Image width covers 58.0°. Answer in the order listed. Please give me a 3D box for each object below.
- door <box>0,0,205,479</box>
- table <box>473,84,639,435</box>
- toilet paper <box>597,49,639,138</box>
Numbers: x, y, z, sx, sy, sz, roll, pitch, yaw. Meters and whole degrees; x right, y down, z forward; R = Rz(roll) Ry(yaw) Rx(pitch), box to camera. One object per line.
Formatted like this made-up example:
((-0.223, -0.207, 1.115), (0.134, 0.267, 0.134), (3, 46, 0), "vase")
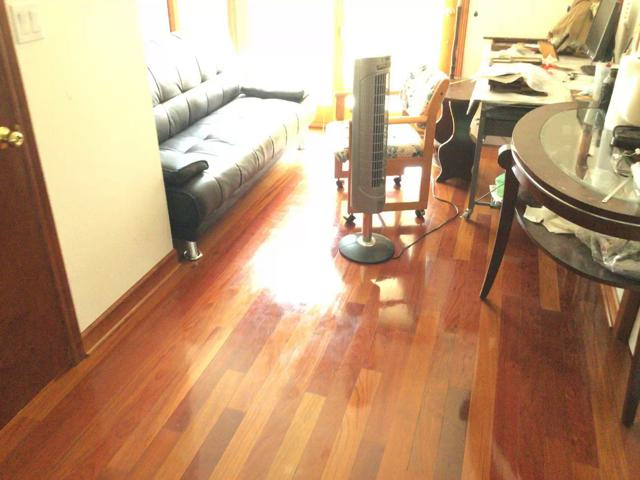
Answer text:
((-0.920, -0.390, 1.640), (0.210, 2.060, 1.540), (5, 26, 17), "door")
((0.990, -0.050, 2.270), (0.630, 0.880, 1.260), (4, 26, 17), "table")
((1.180, -0.560, 2.190), (0.170, 0.280, 0.270), (4, 26, 17), "toilet paper")
